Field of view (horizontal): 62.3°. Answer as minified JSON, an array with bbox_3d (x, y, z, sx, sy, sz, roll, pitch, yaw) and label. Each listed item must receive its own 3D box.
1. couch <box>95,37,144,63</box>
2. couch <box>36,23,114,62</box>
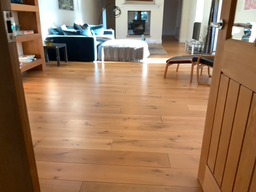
[{"bbox_3d":[-0.170,-1.300,5.800,1.200,0.500,1.210,3,20,4],"label":"couch"},{"bbox_3d":[-1.360,-1.840,6.710,1.340,0.840,3.460,3,20,4],"label":"couch"}]
